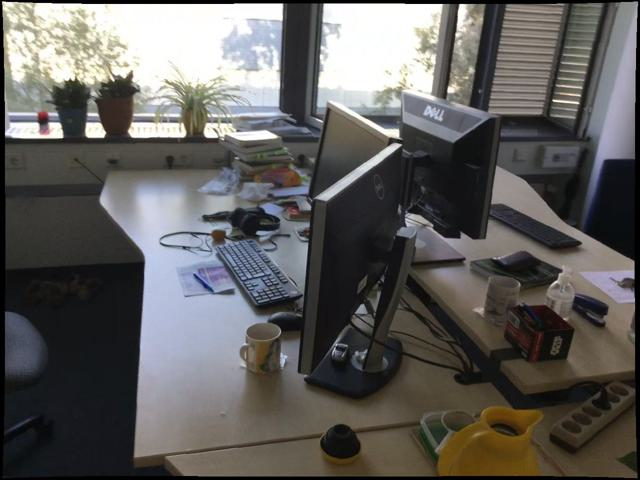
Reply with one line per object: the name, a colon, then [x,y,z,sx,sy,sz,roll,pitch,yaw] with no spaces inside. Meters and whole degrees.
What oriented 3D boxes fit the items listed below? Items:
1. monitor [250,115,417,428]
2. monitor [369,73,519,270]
monitor: [0.060,0.020,1.350,0.210,0.470,0.630,8,26,14]
monitor: [0.360,-0.250,1.870,0.210,0.470,0.560,-5,26,-13]
